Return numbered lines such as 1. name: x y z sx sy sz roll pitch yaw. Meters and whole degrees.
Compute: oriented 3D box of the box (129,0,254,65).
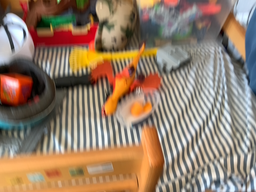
1. box: 0.230 -0.390 0.910 0.390 0.360 0.330 -4 50 -7
